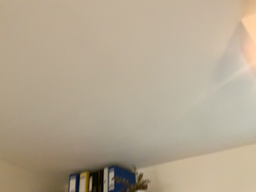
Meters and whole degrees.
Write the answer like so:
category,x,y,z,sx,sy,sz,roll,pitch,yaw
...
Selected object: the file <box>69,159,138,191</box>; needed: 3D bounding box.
category,x,y,z,sx,sy,sz,roll,pitch,yaw
file,-0.200,0.780,1.790,0.490,0.310,0.300,-18,-39,18
